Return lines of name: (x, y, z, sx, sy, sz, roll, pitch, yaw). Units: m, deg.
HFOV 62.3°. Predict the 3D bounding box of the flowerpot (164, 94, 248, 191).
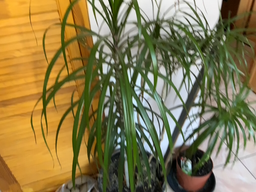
flowerpot: (0.370, 0.310, 1.140, 0.240, 0.590, 0.220, -11, 39, -11)
